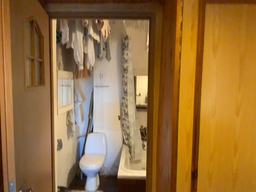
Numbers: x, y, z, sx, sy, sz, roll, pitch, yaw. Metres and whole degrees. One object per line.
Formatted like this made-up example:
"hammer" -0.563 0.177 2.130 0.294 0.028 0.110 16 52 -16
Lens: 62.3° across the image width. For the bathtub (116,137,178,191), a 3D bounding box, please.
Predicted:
"bathtub" 0.230 1.090 3.100 0.690 0.580 1.400 1 5 2
